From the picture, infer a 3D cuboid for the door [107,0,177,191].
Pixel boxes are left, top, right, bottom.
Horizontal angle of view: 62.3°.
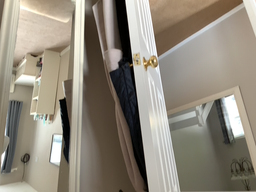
[{"bbox_3d":[0.100,-0.040,1.220,0.110,1.960,0.830,-11,161,12],"label":"door"}]
